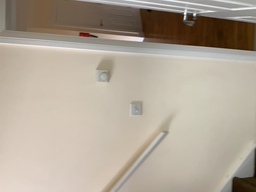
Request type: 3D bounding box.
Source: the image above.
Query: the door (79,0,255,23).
[{"bbox_3d":[0.360,-0.400,0.960,0.810,1.990,0.020,-123,37,-66],"label":"door"}]
